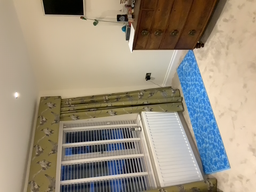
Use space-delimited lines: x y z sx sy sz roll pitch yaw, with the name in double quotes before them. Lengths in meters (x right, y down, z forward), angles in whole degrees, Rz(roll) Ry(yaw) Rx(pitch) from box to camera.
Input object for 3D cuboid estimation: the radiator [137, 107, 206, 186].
"radiator" 0.580 0.660 3.090 0.090 0.670 1.170 101 163 -48
